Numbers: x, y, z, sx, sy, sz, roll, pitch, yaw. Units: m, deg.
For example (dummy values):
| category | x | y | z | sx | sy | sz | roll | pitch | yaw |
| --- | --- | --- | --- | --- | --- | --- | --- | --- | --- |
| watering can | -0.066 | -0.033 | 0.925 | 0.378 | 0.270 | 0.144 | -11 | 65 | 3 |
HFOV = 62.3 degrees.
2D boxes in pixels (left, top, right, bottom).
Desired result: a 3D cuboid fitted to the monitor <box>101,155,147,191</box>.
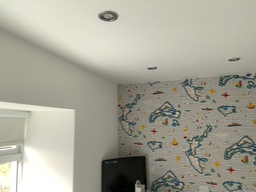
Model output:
| category | x | y | z | sx | sy | sz | roll | pitch | yaw |
| --- | --- | --- | --- | --- | --- | --- | --- | --- | --- |
| monitor | -0.030 | 0.750 | 2.010 | 0.480 | 0.340 | 0.020 | 4 | -9 | -30 |
